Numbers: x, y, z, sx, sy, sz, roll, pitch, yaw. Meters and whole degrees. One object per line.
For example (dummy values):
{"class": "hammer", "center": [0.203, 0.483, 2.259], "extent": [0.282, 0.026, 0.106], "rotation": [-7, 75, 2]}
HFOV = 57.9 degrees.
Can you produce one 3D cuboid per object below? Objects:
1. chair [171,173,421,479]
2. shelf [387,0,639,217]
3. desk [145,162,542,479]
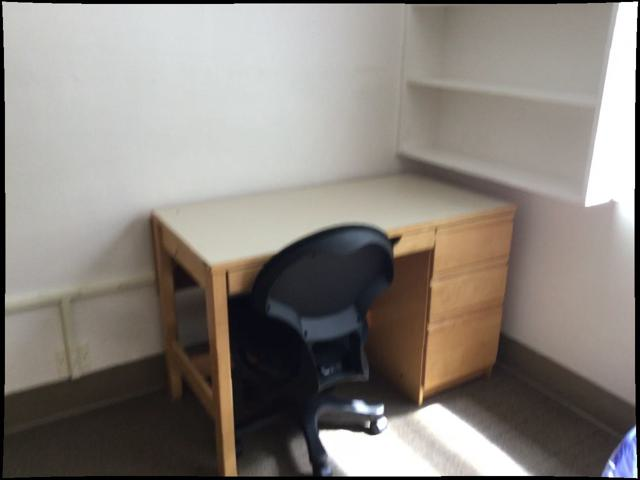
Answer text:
{"class": "chair", "center": [-0.090, 0.280, 1.950], "extent": [0.570, 0.841, 0.560], "rotation": [-13, 25, -32]}
{"class": "shelf", "center": [0.739, -1.011, 2.020], "extent": [0.370, 1.591, 1.060], "rotation": [-12, 24, -29]}
{"class": "desk", "center": [0.100, 0.200, 2.260], "extent": [1.309, 0.741, 0.670], "rotation": [-12, 24, -29]}
